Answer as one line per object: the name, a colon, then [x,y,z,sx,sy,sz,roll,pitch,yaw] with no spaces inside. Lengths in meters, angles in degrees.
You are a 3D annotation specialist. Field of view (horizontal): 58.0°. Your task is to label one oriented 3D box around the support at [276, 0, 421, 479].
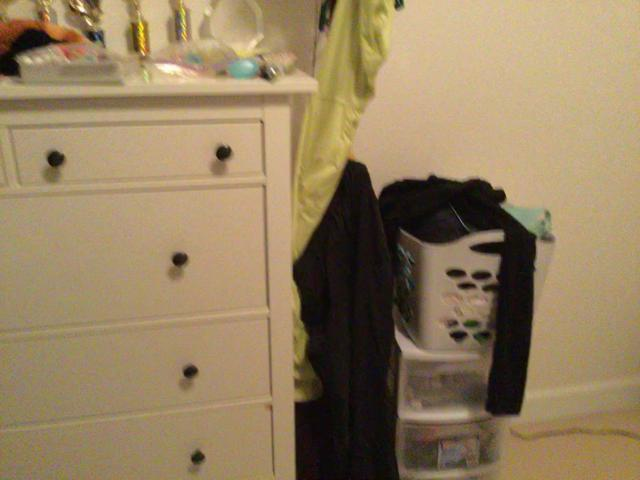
support: [0.060,0.110,1.350,0.250,1.520,0.220,-4,19,-8]
